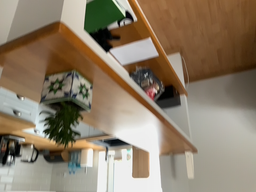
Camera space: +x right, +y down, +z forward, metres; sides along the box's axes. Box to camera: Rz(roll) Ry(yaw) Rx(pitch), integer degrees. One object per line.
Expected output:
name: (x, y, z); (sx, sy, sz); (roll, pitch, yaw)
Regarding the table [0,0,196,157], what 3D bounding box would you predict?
table: (0.030, -0.280, 1.560); (0.430, 1.140, 1.840); (-12, 153, 24)
